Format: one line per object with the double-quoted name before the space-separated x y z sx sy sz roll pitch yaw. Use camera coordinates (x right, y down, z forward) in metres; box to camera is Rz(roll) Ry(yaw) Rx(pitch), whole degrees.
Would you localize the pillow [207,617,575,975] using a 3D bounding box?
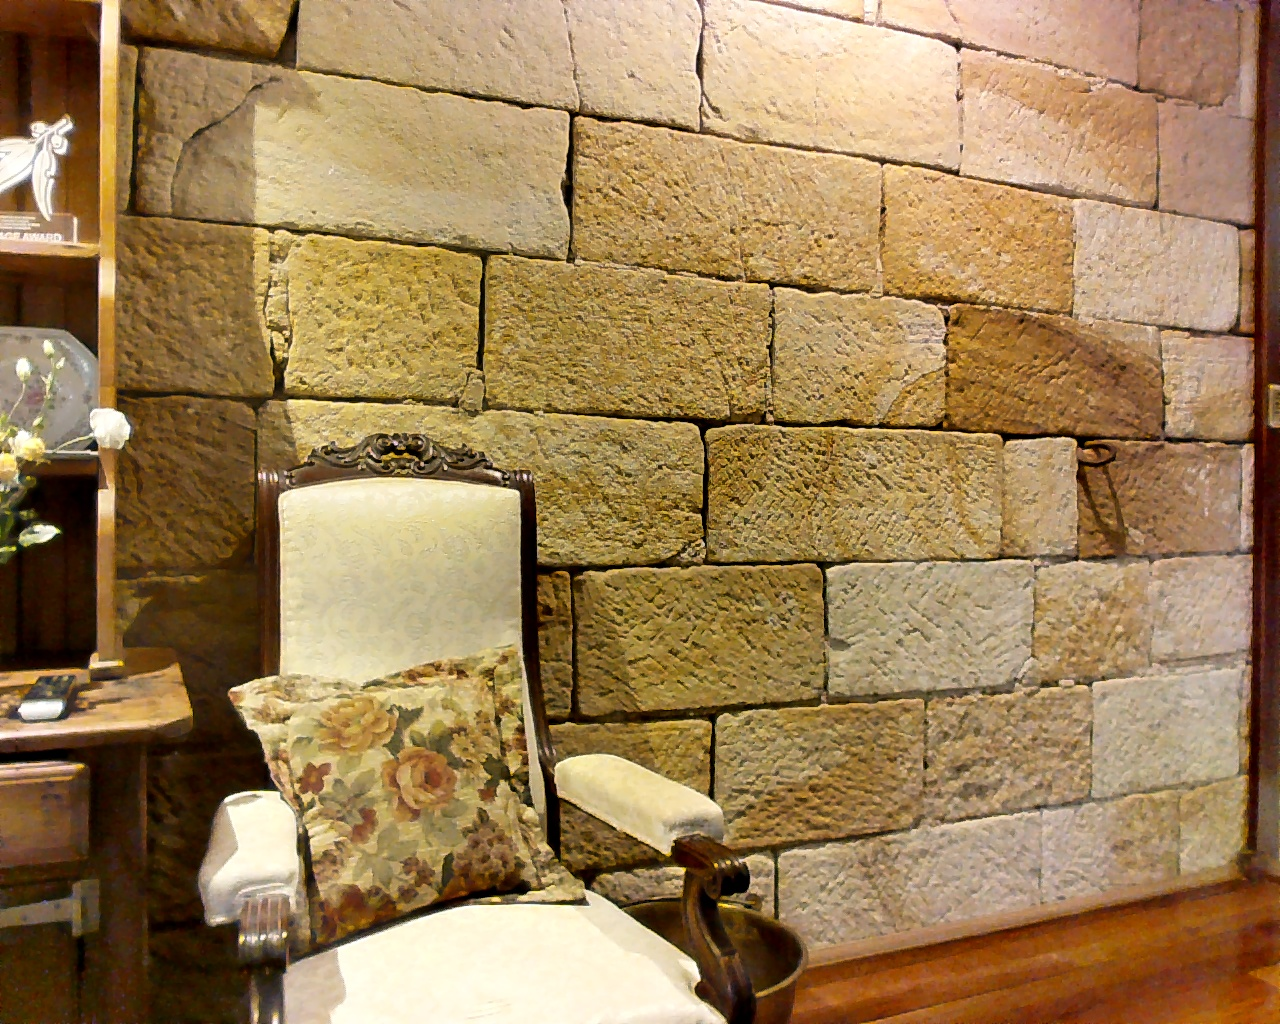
"pillow" -0.370 0.440 1.670 0.390 0.400 0.130 38 -16 -31
